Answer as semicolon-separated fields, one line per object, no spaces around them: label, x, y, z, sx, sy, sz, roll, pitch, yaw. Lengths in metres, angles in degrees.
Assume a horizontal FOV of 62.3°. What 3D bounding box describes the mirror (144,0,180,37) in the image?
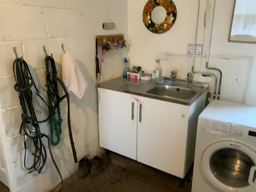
mirror;0.350;-0.860;2.250;0.380;0.440;0.030;13;23;32

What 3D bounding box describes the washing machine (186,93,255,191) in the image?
washing machine;0.980;0.510;1.920;0.630;0.840;0.660;12;23;31
